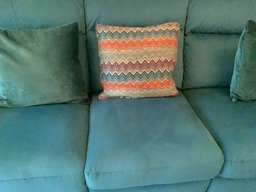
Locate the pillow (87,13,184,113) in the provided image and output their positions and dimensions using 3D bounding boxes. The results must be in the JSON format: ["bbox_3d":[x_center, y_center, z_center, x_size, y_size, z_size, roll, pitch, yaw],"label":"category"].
[{"bbox_3d":[0.050,-0.170,1.140,0.410,0.390,0.190,-16,34,2],"label":"pillow"}]

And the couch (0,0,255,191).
[{"bbox_3d":[0.430,-0.080,1.270,3.060,0.950,1.080,-3,34,-8],"label":"couch"}]

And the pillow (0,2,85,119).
[{"bbox_3d":[-0.510,-0.170,1.090,0.400,0.410,0.200,-29,32,7],"label":"pillow"}]
